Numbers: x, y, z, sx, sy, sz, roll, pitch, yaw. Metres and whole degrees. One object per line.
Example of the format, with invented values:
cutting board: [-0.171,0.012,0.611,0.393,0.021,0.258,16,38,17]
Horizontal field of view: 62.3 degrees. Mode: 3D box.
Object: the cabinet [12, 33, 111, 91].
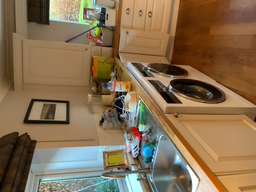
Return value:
cabinet: [-0.950,-0.480,3.150,0.410,1.290,0.720,-140,53,-69]
